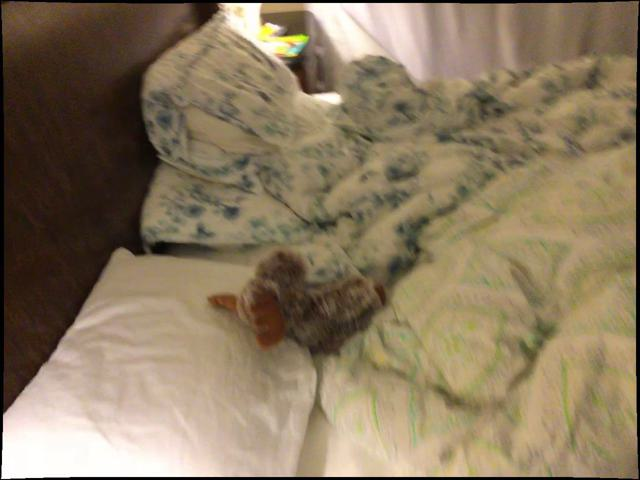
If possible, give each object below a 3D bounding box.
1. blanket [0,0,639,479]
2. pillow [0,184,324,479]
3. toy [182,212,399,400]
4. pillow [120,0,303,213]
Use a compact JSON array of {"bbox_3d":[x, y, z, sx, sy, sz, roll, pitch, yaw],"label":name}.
[{"bbox_3d":[0.589,-0.231,1.320,2.115,0.421,1.541,-3,37,2],"label":"blanket"},{"bbox_3d":[-0.239,0.221,0.950,0.479,0.180,0.851,-3,37,2],"label":"pillow"},{"bbox_3d":[-0.040,0.110,1.030,0.329,0.180,0.270,-3,37,2],"label":"toy"},{"bbox_3d":[-0.259,-0.451,1.720,0.369,0.351,0.771,-3,37,2],"label":"pillow"}]
